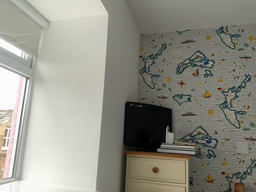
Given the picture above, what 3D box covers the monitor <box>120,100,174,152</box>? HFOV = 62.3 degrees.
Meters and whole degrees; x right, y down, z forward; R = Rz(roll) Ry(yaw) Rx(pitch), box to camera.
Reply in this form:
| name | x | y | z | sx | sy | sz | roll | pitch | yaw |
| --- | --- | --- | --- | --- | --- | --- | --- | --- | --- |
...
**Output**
| name | x | y | z | sx | sy | sz | roll | pitch | yaw |
| --- | --- | --- | --- | --- | --- | --- | --- | --- | --- |
| monitor | 0.170 | 0.250 | 1.700 | 0.500 | 0.370 | 0.040 | 10 | -14 | -31 |
